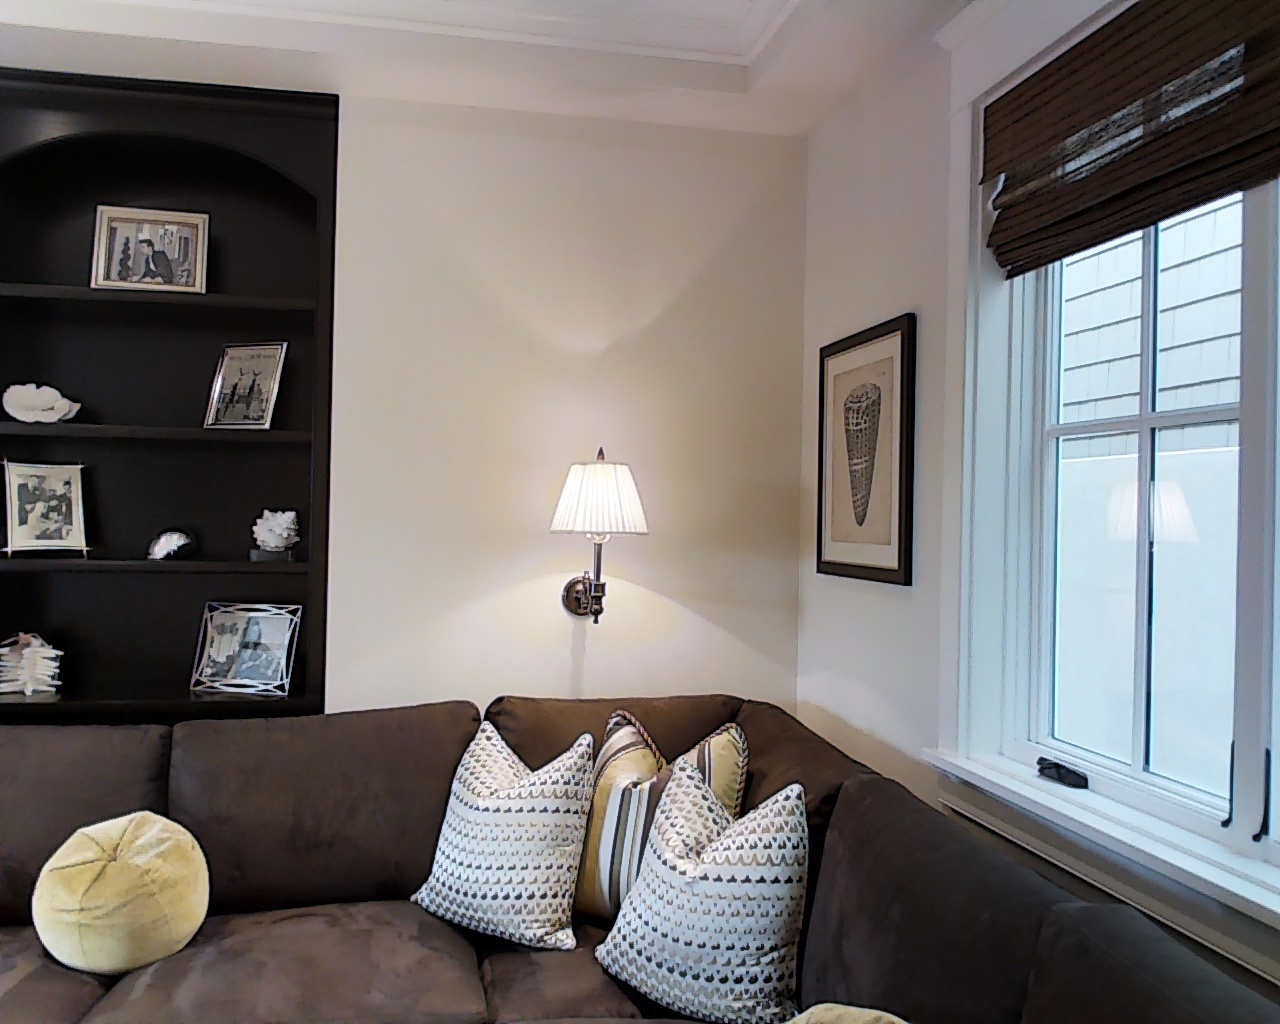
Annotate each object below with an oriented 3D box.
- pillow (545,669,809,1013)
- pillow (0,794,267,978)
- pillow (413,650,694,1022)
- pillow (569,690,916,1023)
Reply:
[{"bbox_3d":[0.080,0.790,2.670,0.510,0.590,0.330,16,20,33],"label":"pillow"},{"bbox_3d":[-1.159,0.880,2.510,0.470,0.430,0.290,2,56,-11],"label":"pillow"},{"bbox_3d":[-0.240,0.790,2.690,0.580,0.600,0.350,27,34,31],"label":"pillow"},{"bbox_3d":[0.200,0.810,2.360,0.370,0.550,0.600,-14,28,-43],"label":"pillow"}]
